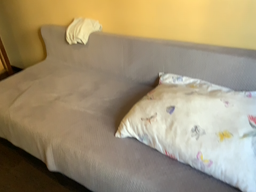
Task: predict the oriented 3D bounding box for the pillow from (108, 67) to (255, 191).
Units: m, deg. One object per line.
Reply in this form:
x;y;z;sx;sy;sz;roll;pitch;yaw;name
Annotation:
0.380;0.140;1.120;0.700;0.220;0.650;16;38;28;pillow

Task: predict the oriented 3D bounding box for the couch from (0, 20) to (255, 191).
-0.150;0.050;1.490;2.040;0.740;0.990;17;38;28;couch
